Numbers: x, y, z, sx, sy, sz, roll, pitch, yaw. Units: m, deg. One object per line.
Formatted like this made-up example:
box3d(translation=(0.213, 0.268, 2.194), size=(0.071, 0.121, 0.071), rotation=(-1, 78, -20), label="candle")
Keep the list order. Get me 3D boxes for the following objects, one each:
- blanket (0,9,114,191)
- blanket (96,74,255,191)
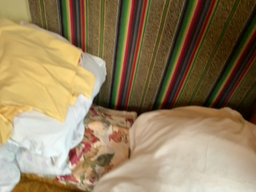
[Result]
box3d(translation=(-0.590, -0.030, 0.980), size=(0.890, 0.450, 0.660), rotation=(13, 41, -1), label="blanket")
box3d(translation=(0.250, 0.300, 0.990), size=(0.700, 0.390, 0.600), rotation=(12, 41, -2), label="blanket")
